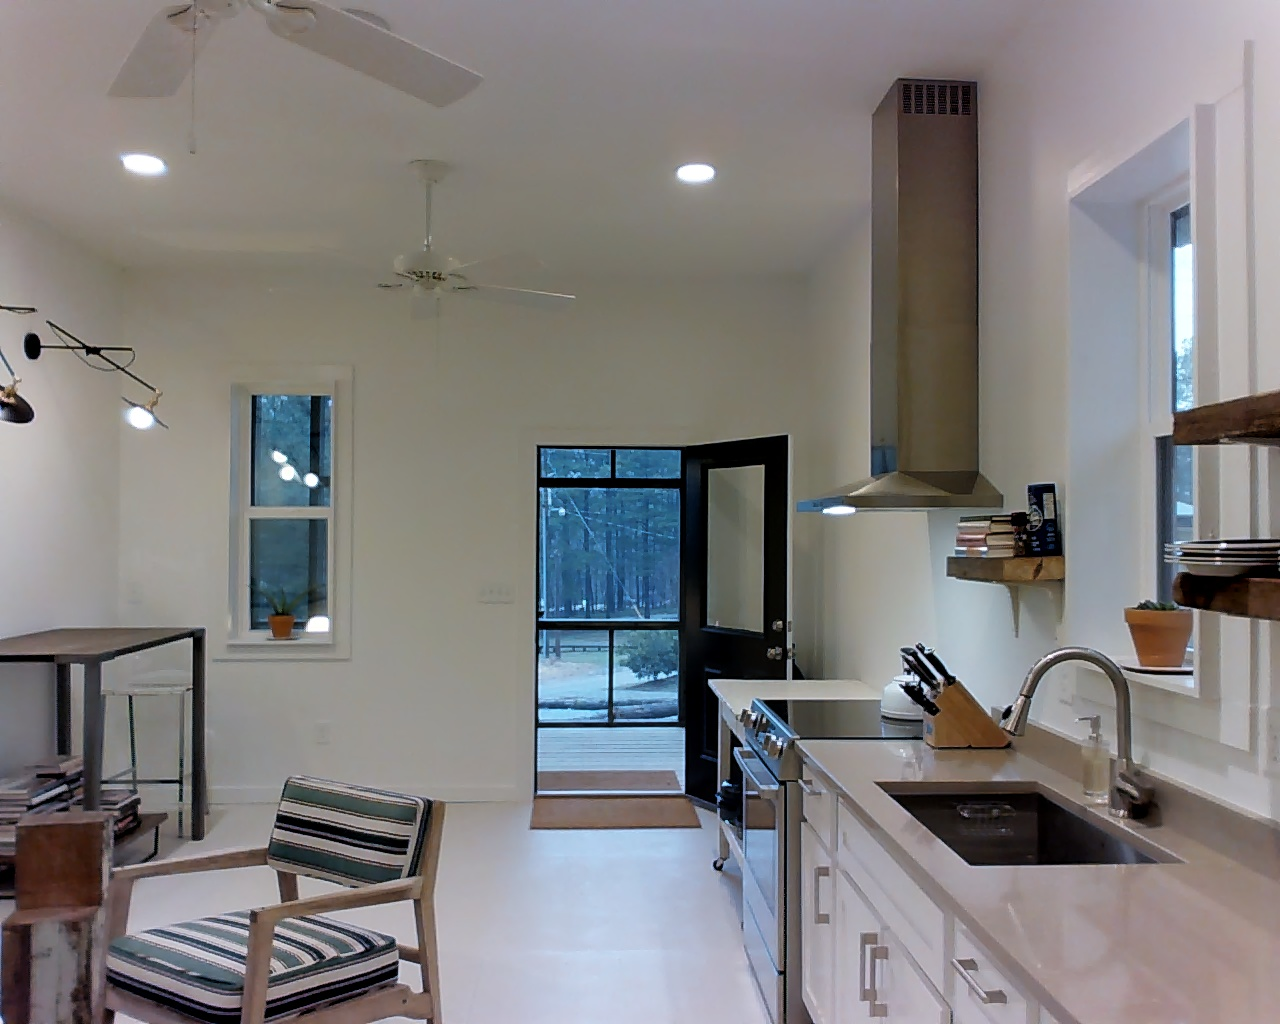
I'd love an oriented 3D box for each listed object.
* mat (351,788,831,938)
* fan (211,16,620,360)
[{"bbox_3d":[-0.210,1.580,5.070,1.790,0.060,2.100,1,-1,-2],"label":"mat"},{"bbox_3d":[-0.770,-1.210,4.290,1.350,0.570,1.310,1,-24,-2],"label":"fan"}]
